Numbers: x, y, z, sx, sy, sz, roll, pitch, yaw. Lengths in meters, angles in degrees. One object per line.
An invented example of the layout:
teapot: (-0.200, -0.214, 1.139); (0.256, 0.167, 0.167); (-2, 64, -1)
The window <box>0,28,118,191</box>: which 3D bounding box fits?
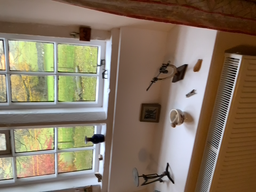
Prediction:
window: (-0.550, 0.200, 1.200); (0.140, 0.910, 1.090); (-145, 58, -64)
